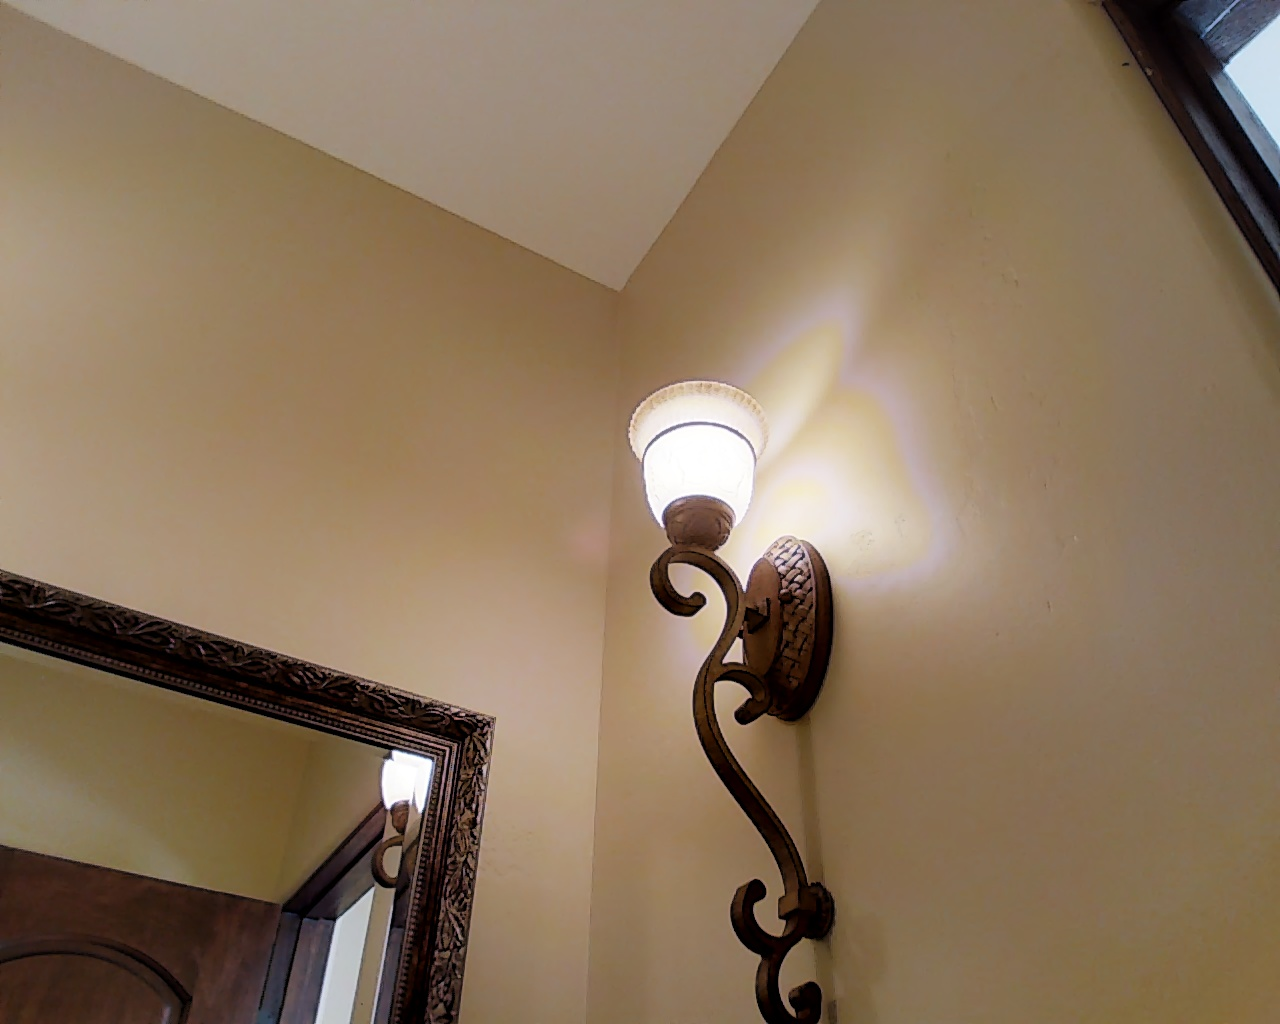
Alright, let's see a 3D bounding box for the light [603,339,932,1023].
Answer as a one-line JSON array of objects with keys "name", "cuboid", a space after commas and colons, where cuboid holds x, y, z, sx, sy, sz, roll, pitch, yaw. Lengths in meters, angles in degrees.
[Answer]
[{"name": "light", "cuboid": [0.090, 0.130, 0.940, 0.160, 0.600, 0.170, 21, -45, -21]}]
